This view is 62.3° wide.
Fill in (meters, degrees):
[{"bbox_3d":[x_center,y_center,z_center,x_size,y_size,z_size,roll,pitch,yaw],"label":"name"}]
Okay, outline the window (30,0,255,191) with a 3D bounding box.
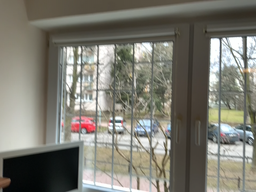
[{"bbox_3d":[0.600,0.180,1.060,2.490,1.250,0.180,2,0,18],"label":"window"}]
